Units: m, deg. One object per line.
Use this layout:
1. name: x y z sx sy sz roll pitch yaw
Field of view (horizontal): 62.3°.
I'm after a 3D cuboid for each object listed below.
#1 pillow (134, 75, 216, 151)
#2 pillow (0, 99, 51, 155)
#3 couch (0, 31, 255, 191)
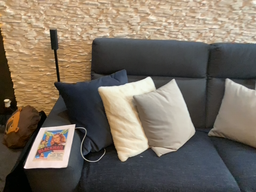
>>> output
1. pillow: 0.300 0.140 1.500 0.500 0.450 0.150 -34 73 -15
2. pillow: -0.900 0.250 1.810 0.320 0.260 0.430 3 28 -3
3. couch: 0.620 0.190 1.580 2.370 0.990 1.030 2 28 -5
